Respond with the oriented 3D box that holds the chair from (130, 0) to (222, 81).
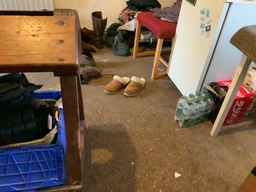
[{"bbox_3d":[0.400,-0.680,1.980,0.550,0.890,0.490,-11,41,-20],"label":"chair"}]
